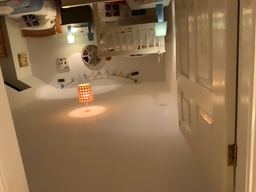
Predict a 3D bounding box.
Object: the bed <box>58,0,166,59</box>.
[{"bbox_3d":[-0.150,-1.590,3.970,1.470,1.500,2.160,-3,-166,7],"label":"bed"}]
